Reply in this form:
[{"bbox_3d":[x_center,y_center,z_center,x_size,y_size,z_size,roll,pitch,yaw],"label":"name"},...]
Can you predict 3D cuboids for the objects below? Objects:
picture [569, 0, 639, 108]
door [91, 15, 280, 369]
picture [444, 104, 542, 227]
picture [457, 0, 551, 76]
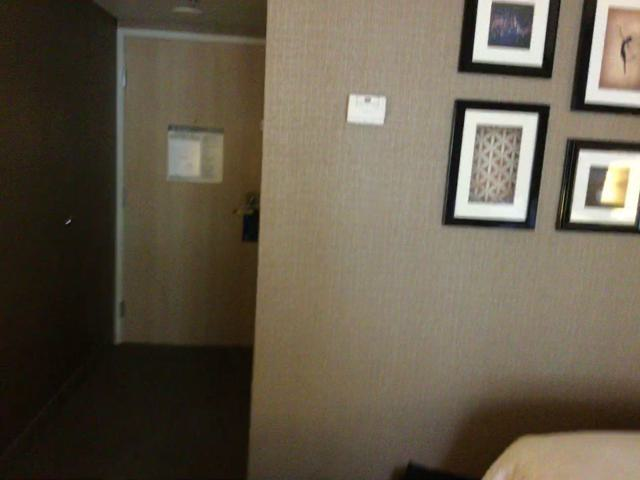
[{"bbox_3d":[0.960,-0.620,1.830,0.280,0.380,0.040,5,5,-1],"label":"picture"},{"bbox_3d":[-0.860,-0.280,3.740,1.010,2.110,0.300,5,5,-1],"label":"door"},{"bbox_3d":[0.560,-0.240,1.880,0.270,0.370,0.040,5,5,-1],"label":"picture"},{"bbox_3d":[0.580,-0.670,1.820,0.260,0.270,0.040,5,5,-1],"label":"picture"}]
